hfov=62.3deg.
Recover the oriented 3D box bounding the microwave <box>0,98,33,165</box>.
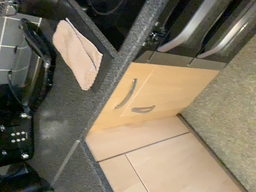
[{"bbox_3d":[-0.670,0.180,1.140,0.270,0.180,0.310,-7,88,44],"label":"microwave"}]
